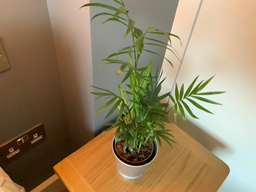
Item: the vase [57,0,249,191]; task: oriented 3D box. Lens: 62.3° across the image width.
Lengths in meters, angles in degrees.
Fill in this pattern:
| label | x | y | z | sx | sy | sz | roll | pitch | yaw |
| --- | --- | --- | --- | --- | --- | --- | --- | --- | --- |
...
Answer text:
| label | x | y | z | sx | sy | sz | roll | pitch | yaw |
| --- | --- | --- | --- | --- | --- | --- | --- | --- | --- |
| vase | 0.030 | 0.010 | 0.480 | 0.250 | 0.360 | 0.210 | -30 | 56 | -32 |
